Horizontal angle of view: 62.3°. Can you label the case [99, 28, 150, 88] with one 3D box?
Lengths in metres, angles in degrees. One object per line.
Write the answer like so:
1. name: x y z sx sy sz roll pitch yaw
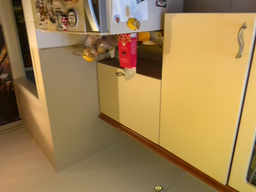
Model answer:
1. case: -0.020 -0.210 1.110 0.140 0.260 0.230 -19 -152 -38
